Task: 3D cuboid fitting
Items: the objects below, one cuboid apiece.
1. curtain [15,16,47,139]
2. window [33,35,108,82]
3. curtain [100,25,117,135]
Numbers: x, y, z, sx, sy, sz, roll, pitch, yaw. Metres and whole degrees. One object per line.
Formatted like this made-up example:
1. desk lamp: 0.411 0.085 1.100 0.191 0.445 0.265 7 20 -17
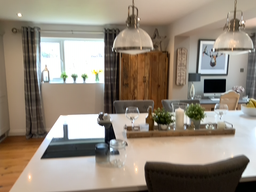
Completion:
1. curtain: -1.970 -0.340 4.360 0.420 2.440 0.250 0 9 -6
2. window: -1.220 -0.810 4.680 1.560 0.960 0.230 0 9 -7
3. curtain: -0.420 -0.310 4.590 0.350 2.320 0.210 -1 9 -9
